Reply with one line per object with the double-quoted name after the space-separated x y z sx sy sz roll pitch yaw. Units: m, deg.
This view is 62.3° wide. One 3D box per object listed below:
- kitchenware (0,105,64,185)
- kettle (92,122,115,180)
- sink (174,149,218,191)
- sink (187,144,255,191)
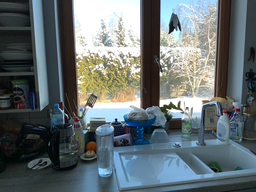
-0.740 0.250 1.210 0.660 0.280 0.490 -2 9 -11 "kitchenware"
-0.140 0.290 1.170 0.110 0.240 0.210 -2 9 -9 "kettle"
0.400 0.450 1.290 0.110 0.130 0.320 -2 9 -11 "sink"
0.600 0.470 1.350 0.310 0.190 0.330 -2 9 -11 "sink"
